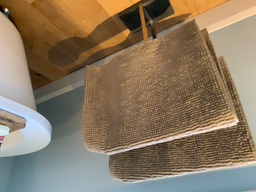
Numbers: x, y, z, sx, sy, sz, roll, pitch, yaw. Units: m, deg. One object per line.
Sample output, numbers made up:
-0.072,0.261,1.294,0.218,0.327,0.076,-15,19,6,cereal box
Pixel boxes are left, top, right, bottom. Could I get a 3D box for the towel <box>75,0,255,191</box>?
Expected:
0.130,-0.060,1.000,0.690,0.870,0.310,-20,149,24,towel
